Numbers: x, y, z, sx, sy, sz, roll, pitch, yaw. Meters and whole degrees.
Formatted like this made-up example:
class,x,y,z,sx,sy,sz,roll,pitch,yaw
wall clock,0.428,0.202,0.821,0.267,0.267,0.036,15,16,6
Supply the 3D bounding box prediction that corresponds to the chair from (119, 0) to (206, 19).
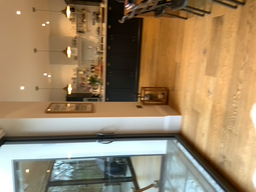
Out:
class,x,y,z,sx,sy,sz,roll,pitch,yaw
chair,0.390,-1.200,2.490,0.460,0.910,0.460,-123,35,-71
